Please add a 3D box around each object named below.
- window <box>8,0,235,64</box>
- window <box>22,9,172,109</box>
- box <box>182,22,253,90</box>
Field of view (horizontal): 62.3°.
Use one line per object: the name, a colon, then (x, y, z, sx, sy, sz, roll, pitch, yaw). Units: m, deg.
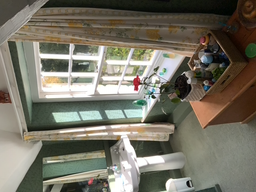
window: (0.010, -0.460, 1.450, 0.350, 1.400, 0.320, 125, 139, -59)
window: (-0.340, -0.310, 2.210, 0.940, 1.250, 0.370, 113, 148, -50)
box: (0.590, -0.270, 1.470, 0.310, 0.200, 0.330, 111, 149, -48)
